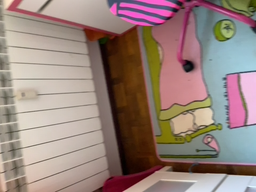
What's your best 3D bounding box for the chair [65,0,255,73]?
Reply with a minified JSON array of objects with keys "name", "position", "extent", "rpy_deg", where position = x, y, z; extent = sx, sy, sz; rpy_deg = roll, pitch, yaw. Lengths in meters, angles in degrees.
[{"name":"chair","position":[0.180,-0.400,0.990],"extent":[0.600,0.650,0.380],"rpy_deg":[-22,79,39]}]
